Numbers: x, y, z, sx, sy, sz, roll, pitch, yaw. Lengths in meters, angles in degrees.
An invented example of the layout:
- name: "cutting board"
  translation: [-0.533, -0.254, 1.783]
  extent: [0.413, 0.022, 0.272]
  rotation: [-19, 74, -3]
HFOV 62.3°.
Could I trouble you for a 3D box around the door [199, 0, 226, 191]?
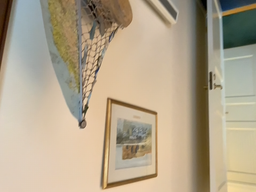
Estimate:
- name: "door"
  translation: [0.820, -0.050, 2.030]
  extent: [0.100, 2.200, 0.910]
  rotation: [-3, 168, 28]
